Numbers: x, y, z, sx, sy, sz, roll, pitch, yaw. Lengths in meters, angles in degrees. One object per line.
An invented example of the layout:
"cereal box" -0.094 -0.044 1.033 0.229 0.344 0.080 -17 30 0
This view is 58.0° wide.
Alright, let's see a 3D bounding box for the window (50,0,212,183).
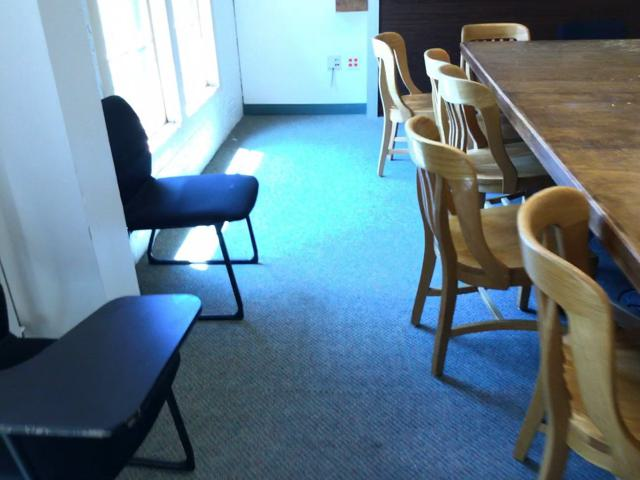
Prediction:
"window" -0.900 -1.160 2.660 0.200 1.510 1.000 -6 27 8
